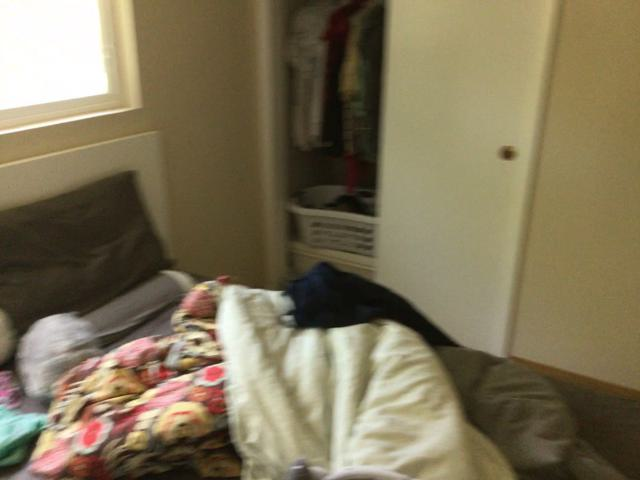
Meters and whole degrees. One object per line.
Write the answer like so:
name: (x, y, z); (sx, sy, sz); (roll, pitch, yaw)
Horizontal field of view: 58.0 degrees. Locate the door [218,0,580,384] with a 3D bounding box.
door: (0.260, -0.570, 2.340); (1.350, 2.080, 0.340); (10, 24, 30)
